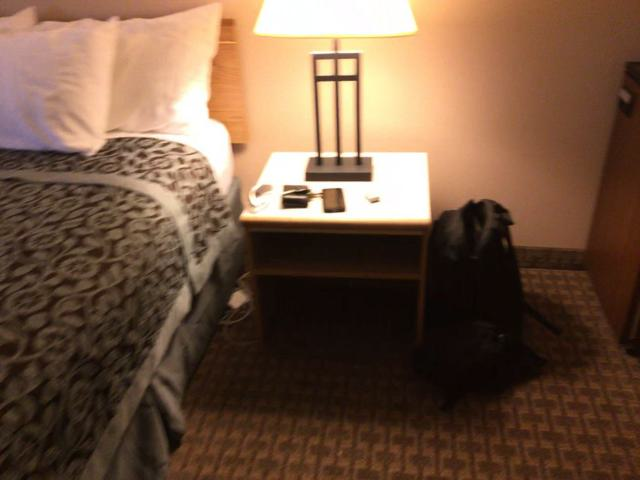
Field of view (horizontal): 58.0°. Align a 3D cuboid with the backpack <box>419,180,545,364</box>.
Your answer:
[{"bbox_3d":[0.510,0.100,1.930,0.310,0.480,0.340,5,31,7],"label":"backpack"}]
